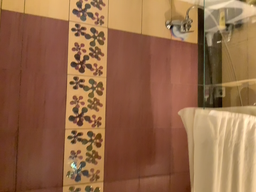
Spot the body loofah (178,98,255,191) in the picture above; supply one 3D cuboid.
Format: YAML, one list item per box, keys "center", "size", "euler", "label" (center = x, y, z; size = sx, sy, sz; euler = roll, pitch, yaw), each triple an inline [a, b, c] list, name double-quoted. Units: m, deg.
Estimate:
- center: [0.510, 0.310, 0.940]
  size: [0.610, 0.570, 0.120]
  euler: [3, 176, -23]
  label: "body loofah"
